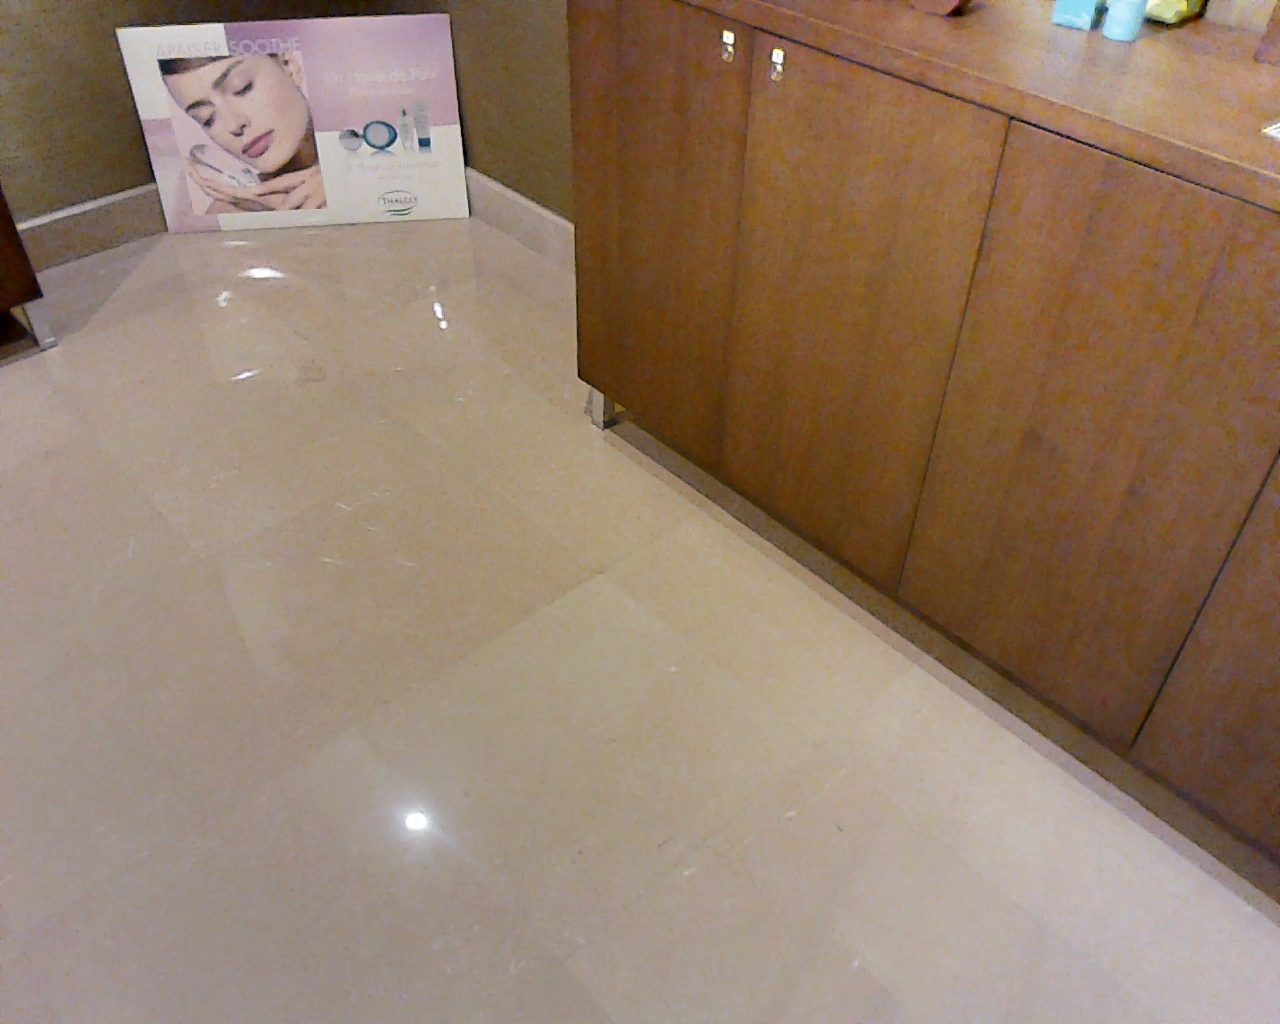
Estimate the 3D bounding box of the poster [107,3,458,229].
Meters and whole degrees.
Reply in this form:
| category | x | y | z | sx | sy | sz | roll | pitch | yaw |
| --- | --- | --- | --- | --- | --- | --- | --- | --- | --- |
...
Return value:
| category | x | y | z | sx | sy | sz | roll | pitch | yaw |
| --- | --- | --- | --- | --- | --- | --- | --- | --- | --- |
| poster | -1.050 | -1.200 | 3.300 | 0.910 | 0.620 | 0.080 | -5 | 42 | -7 |
